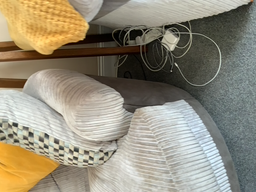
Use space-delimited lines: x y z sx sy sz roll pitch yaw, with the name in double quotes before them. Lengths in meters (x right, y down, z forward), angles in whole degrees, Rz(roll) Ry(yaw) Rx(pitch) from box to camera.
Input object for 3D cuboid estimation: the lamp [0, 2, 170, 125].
"lamp" -0.640 -0.170 1.060 0.460 1.750 0.500 25 118 58
